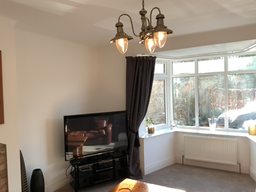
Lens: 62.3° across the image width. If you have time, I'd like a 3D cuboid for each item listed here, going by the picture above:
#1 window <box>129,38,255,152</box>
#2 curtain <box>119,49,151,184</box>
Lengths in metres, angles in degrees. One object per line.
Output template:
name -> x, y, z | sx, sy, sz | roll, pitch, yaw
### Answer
window -> 1.410, -0.020, 4.030 | 2.540, 1.680, 1.050 | 0, 3, 32
curtain -> 0.130, 0.380, 3.960 | 0.500, 2.400, 0.170 | -1, 3, 31
